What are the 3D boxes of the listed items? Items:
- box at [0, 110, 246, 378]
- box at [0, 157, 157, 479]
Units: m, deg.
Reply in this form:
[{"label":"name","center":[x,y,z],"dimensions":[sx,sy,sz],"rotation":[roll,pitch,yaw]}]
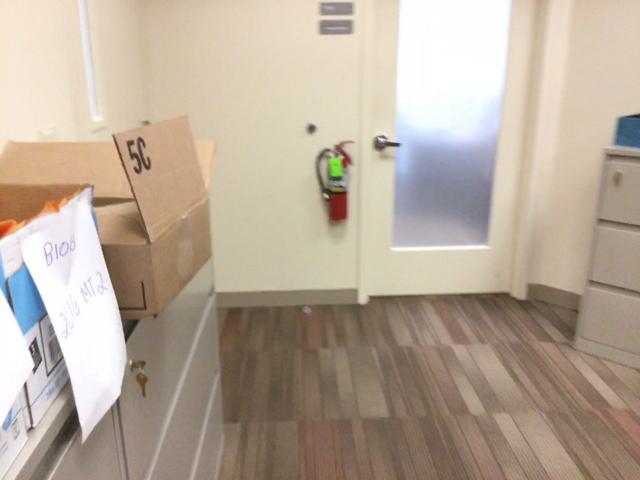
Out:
[{"label":"box","center":[-0.470,-0.040,1.140],"dimensions":[0.590,0.360,0.620],"rotation":[-7,13,-5]},{"label":"box","center":[-0.510,0.100,0.750],"dimensions":[0.470,0.330,0.410],"rotation":[-7,13,-5]}]
